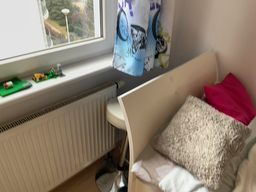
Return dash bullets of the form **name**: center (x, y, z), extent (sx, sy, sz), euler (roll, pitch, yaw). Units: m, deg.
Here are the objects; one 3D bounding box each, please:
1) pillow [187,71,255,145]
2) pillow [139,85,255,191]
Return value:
- **pillow**: center (0.730, 0.060, 1.560), extent (0.350, 0.280, 0.430), euler (29, 41, 34)
- **pillow**: center (0.390, 0.220, 1.230), extent (0.440, 0.290, 0.470), euler (26, 39, 31)
